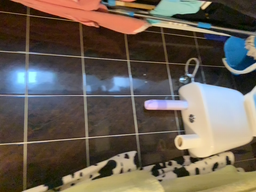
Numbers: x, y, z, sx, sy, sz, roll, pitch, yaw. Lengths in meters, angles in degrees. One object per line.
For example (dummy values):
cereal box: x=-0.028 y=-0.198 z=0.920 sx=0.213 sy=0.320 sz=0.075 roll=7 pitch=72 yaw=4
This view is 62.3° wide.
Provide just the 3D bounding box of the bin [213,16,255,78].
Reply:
bin: x=0.830 y=-0.300 z=1.310 sx=0.420 sy=0.340 sz=0.230 roll=144 pitch=123 yaw=-62
